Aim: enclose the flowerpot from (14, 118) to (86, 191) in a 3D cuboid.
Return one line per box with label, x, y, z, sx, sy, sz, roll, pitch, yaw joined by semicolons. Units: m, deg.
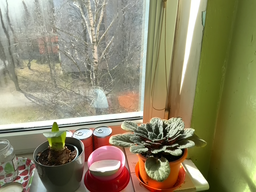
flowerpot;-0.240;0.200;0.710;0.180;0.170;0.180;-4;24;-10
